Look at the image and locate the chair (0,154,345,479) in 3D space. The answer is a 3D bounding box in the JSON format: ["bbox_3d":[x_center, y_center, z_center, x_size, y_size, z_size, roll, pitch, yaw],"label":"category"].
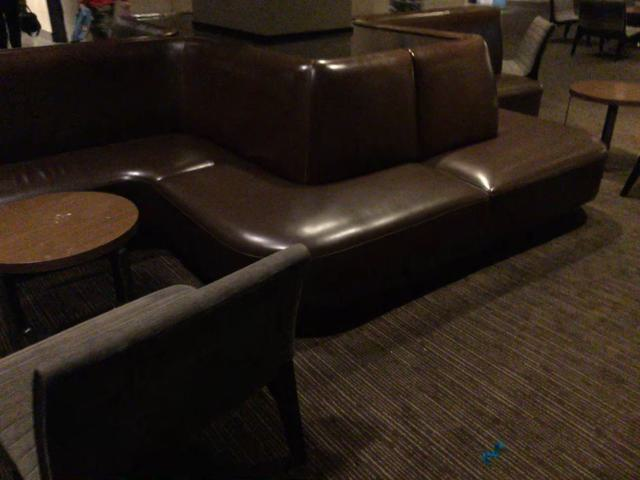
[{"bbox_3d":[-0.500,0.300,1.500,0.780,0.720,0.800,-21,34,-36],"label":"chair"}]

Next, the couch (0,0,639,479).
[{"bbox_3d":[-0.190,-1.020,3.570,4.030,0.960,3.490,-20,35,-27],"label":"couch"}]
